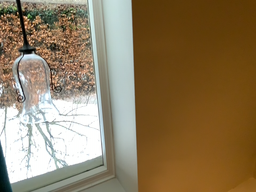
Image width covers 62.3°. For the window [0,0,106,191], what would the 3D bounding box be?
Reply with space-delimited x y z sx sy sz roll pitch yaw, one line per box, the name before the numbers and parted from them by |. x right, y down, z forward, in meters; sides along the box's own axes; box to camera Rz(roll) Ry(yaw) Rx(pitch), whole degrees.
window | -0.450 -0.060 0.990 0.630 1.090 0.100 -13 -157 -27
